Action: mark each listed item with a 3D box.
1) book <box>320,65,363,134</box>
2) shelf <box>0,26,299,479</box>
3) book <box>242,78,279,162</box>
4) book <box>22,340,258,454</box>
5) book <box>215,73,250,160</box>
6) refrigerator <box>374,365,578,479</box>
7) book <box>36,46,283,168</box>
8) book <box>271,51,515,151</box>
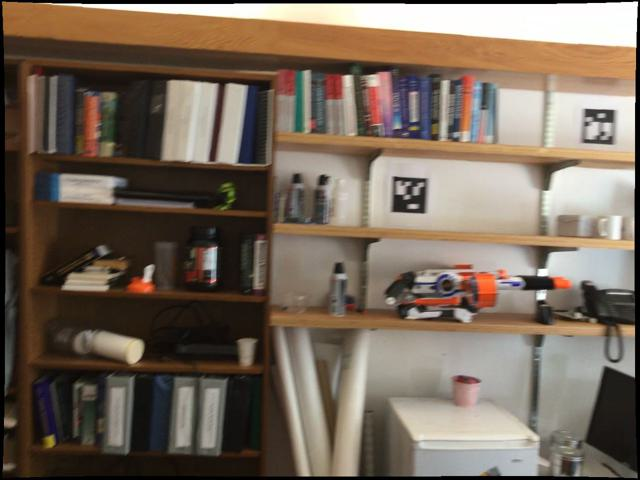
[{"bbox_3d":[0.080,-0.541,2.250,0.130,0.230,0.170,3,7,-7],"label":"book"},{"bbox_3d":[-0.879,0.360,2.200,1.439,2.092,0.610,3,7,-7],"label":"shelf"},{"bbox_3d":[-0.230,-0.450,2.210,0.120,0.290,0.210,3,7,-7],"label":"book"},{"bbox_3d":[-0.669,0.611,2.290,0.829,0.300,0.370,3,7,-7],"label":"book"},{"bbox_3d":[-0.330,-0.460,2.200,0.110,0.300,0.200,3,7,-7],"label":"book"},{"bbox_3d":[0.549,1.031,2.290,0.549,0.891,0.590,3,7,-7],"label":"refrigerator"},{"bbox_3d":[-0.579,-0.480,2.170,0.849,0.360,0.220,3,7,-7],"label":"book"},{"bbox_3d":[0.270,-0.531,2.270,0.899,0.290,0.230,3,7,-7],"label":"book"}]
